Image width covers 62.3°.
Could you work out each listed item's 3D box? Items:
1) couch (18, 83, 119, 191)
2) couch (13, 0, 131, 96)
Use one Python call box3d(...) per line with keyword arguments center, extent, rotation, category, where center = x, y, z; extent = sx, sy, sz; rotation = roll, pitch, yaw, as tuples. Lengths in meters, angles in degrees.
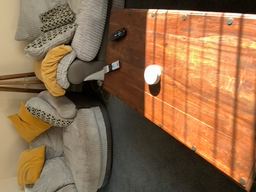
box3d(center=(-0.810, 0.600, 2.610), extent=(1.230, 0.810, 1.360), rotation=(19, 109, 55), category="couch")
box3d(center=(-0.680, -0.660, 2.250), extent=(1.130, 0.850, 0.960), rotation=(32, 119, 52), category="couch")
